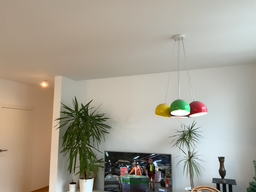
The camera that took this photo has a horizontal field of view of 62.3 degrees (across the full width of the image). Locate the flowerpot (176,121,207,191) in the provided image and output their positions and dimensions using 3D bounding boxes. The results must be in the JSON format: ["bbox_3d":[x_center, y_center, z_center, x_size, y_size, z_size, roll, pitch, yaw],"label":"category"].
[{"bbox_3d":[1.040,1.050,3.470,0.420,1.280,0.230,-3,-9,22],"label":"flowerpot"}]

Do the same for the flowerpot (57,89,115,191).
[{"bbox_3d":[-0.780,0.830,4.160,0.820,1.790,0.670,-3,-9,24],"label":"flowerpot"}]
